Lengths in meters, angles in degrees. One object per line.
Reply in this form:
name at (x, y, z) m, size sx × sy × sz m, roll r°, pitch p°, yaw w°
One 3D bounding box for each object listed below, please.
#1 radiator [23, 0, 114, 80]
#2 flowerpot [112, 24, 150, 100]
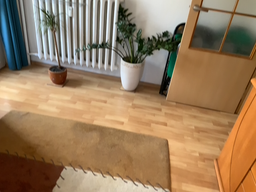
radiator at (-0.730, -0.810, 2.690) m, size 0.990 × 1.040 × 0.280 m, roll 10°, pitch 32°, yaw 2°
flowerpot at (0.040, -0.410, 2.540) m, size 0.290 × 0.750 × 0.450 m, roll 11°, pitch 32°, yaw 4°
